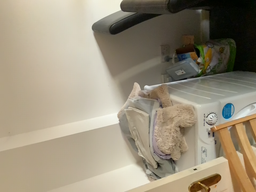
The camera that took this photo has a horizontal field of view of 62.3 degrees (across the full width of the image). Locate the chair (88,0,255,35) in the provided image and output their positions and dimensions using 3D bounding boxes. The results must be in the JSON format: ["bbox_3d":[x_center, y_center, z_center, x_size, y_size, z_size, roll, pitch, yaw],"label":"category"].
[{"bbox_3d":[0.310,-0.810,1.410,0.500,1.080,0.690,-144,48,-60],"label":"chair"}]
